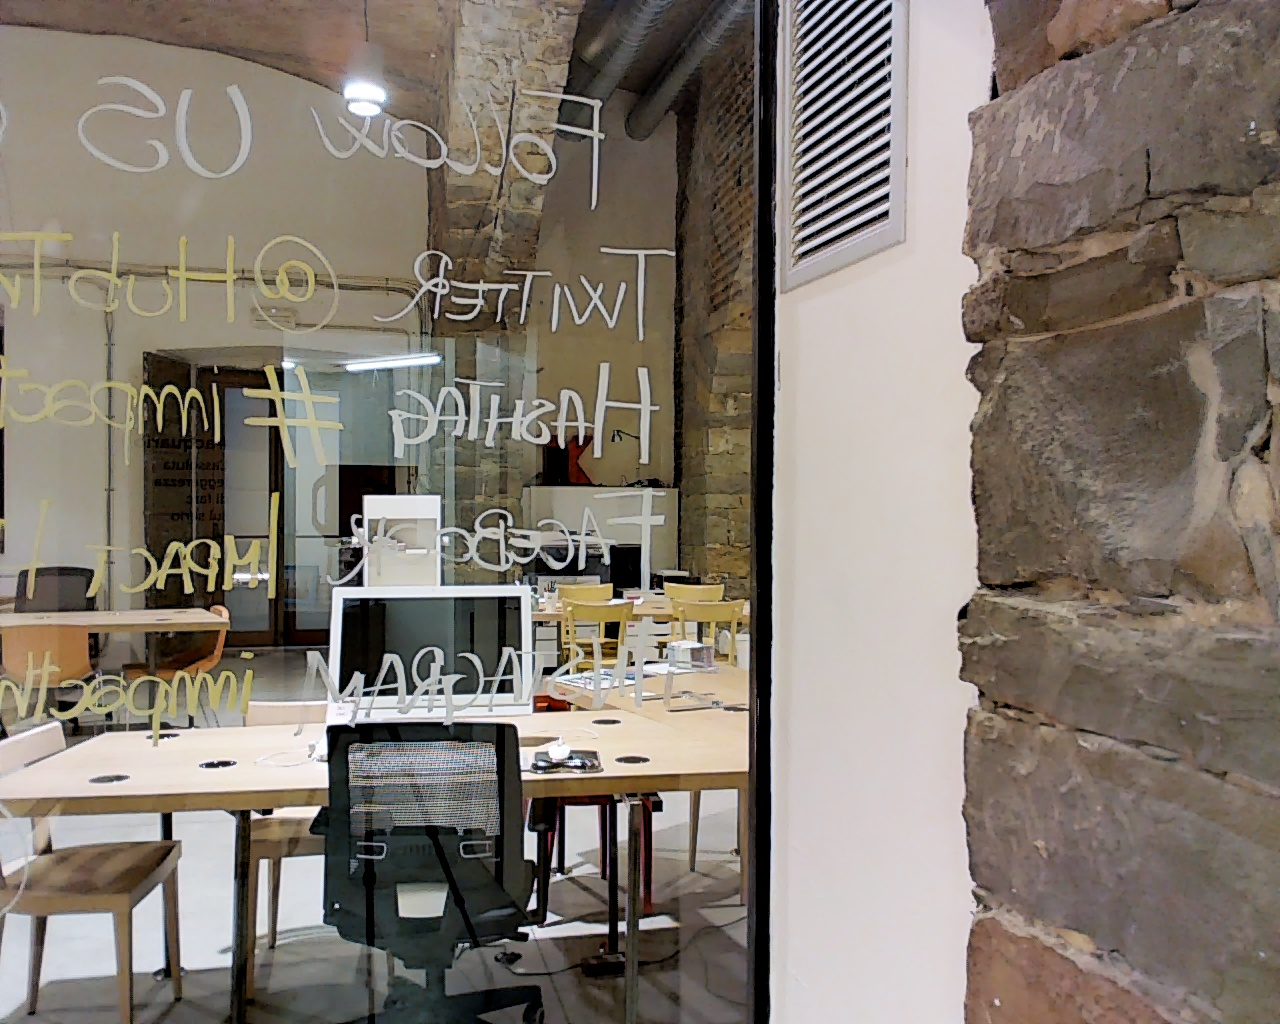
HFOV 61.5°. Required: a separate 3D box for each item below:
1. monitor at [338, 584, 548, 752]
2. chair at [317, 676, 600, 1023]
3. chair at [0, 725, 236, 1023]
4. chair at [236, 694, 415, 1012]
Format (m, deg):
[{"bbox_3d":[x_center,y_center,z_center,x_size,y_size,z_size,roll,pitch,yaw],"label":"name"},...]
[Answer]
[{"bbox_3d":[-0.570,0.440,3.120,0.580,0.440,0.200,0,1,-13],"label":"monitor"},{"bbox_3d":[-0.450,0.940,2.720,0.630,0.950,0.570,0,1,-9],"label":"chair"},{"bbox_3d":[-1.460,1.010,2.890,0.560,0.770,0.490,0,1,1],"label":"chair"},{"bbox_3d":[-0.960,1.010,3.340,0.490,0.780,0.550,0,1,-14],"label":"chair"}]
